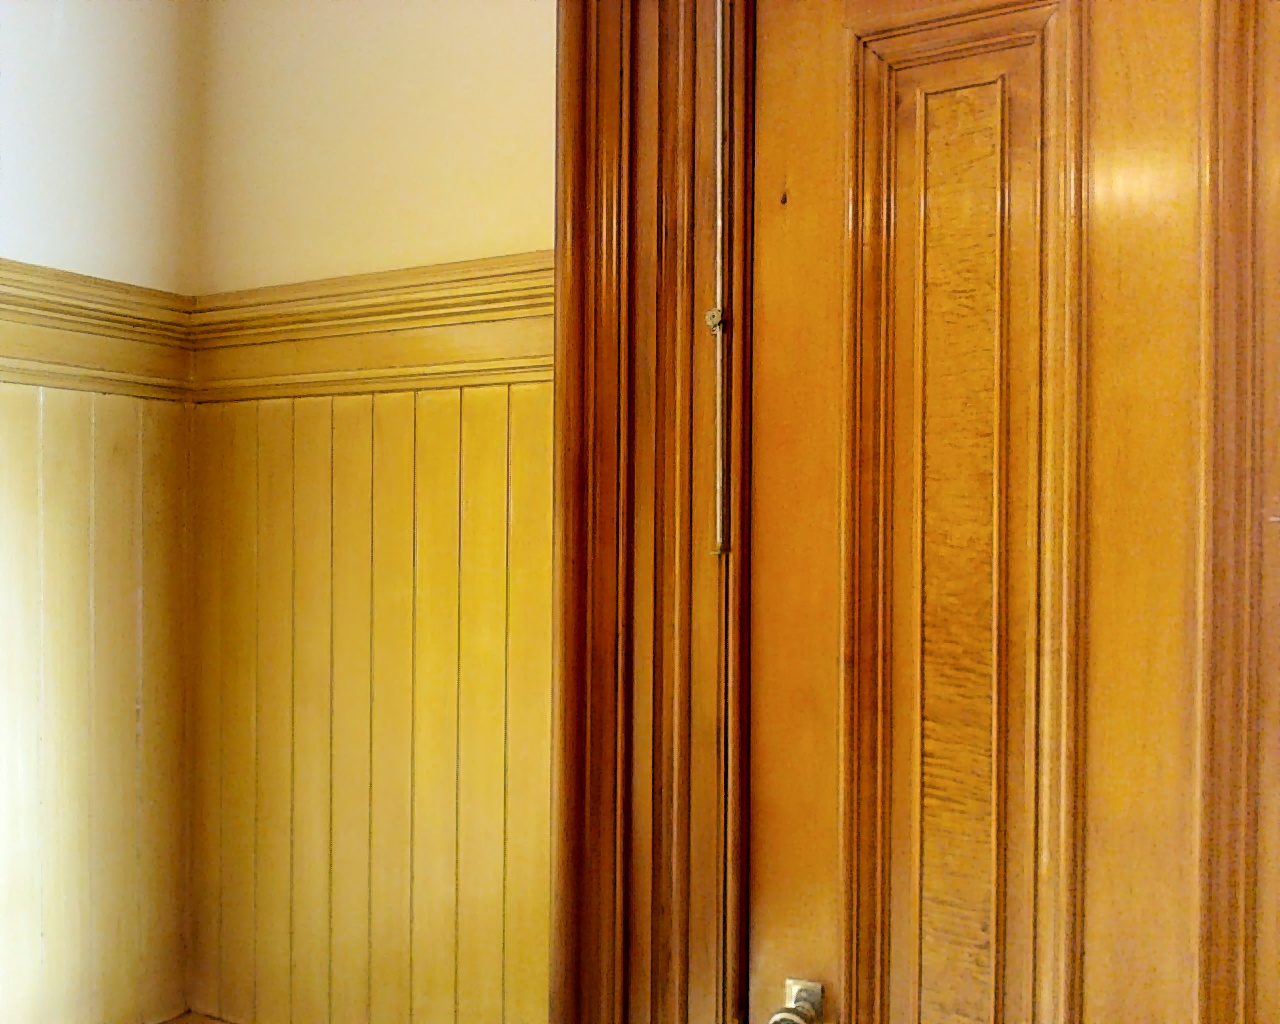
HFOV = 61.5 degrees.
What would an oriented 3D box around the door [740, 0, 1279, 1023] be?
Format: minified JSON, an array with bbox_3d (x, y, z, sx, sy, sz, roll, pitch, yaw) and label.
[{"bbox_3d":[0.540,0.340,1.170,0.920,2.360,0.060,0,1,31],"label":"door"}]
